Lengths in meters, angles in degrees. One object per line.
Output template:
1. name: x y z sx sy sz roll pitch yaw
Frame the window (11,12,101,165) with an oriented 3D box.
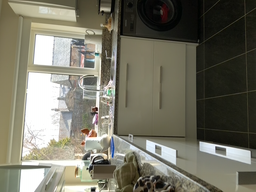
1. window: -0.920 -0.080 2.870 0.370 0.990 1.880 168 104 -78
